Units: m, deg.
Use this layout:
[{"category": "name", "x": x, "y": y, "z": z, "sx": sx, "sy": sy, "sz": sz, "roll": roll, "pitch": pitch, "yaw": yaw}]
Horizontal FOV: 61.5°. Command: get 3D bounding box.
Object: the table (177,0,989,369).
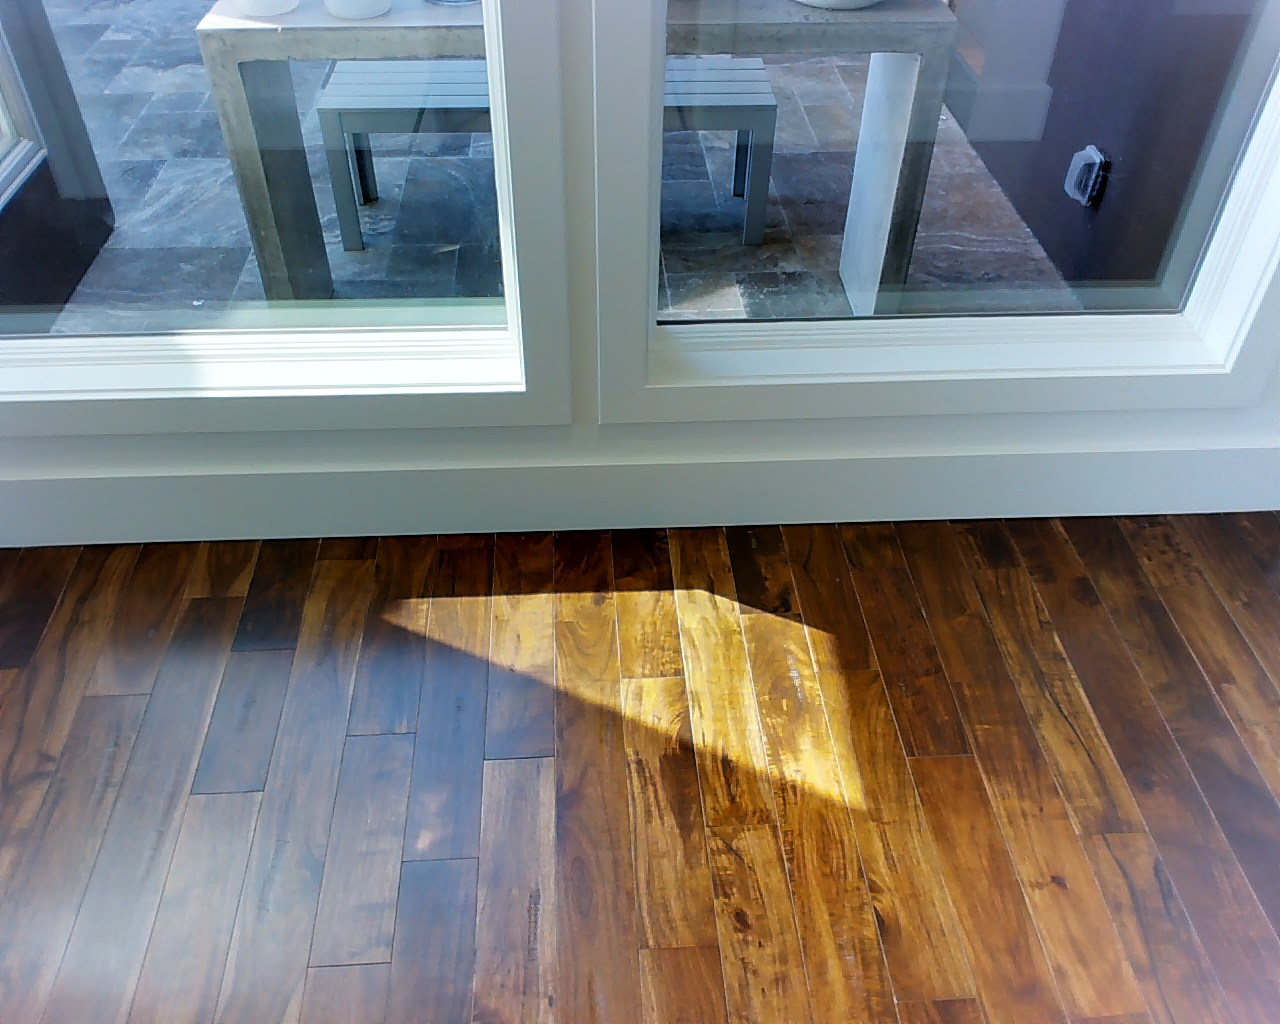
[{"category": "table", "x": -0.120, "y": -0.860, "z": 2.670, "sx": 1.670, "sy": 0.860, "sz": 0.460, "roll": -2, "pitch": 42, "yaw": -3}]
